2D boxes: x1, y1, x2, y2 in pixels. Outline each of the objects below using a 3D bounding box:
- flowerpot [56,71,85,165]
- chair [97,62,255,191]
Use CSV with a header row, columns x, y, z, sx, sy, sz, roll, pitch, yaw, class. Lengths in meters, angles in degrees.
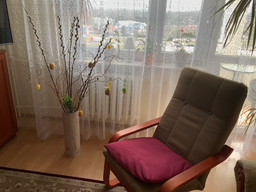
x,y,z,sx,sy,sz,roll,pitch,yaw,class
-0.550,0.230,2.110,0.140,0.900,0.270,6,23,7,flowerpot
0.290,0.350,1.550,0.810,0.980,0.690,-11,27,-30,chair
